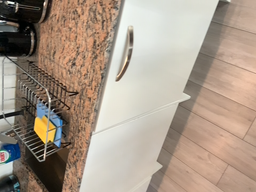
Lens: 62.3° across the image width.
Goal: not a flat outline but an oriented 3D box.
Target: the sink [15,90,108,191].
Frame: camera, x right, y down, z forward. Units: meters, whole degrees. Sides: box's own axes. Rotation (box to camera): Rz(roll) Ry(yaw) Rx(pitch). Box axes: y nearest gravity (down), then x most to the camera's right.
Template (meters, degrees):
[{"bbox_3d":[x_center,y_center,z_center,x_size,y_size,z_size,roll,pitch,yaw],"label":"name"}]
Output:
[{"bbox_3d":[-0.380,0.260,1.140,0.440,0.230,0.400,32,119,32],"label":"sink"}]

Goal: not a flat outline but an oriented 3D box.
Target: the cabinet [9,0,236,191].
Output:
[{"bbox_3d":[-0.150,0.220,1.370,0.600,0.890,1.870,32,119,32],"label":"cabinet"}]
